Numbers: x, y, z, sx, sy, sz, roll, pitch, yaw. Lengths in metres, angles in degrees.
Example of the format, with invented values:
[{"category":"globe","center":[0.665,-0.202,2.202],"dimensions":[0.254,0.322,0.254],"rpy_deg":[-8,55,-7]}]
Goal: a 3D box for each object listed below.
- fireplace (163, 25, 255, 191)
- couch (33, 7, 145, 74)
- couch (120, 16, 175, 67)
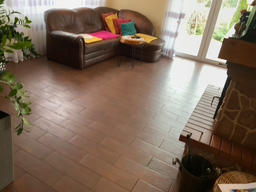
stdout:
[{"category":"fireplace","center":[0.960,0.090,1.860],"dimensions":[0.730,1.160,1.180],"rpy_deg":[20,28,21]},{"category":"couch","center":[-0.640,-1.330,4.530],"dimensions":[1.020,0.870,2.400],"rpy_deg":[20,29,21]},{"category":"couch","center":[0.450,-1.270,4.770],"dimensions":[0.750,0.840,1.040],"rpy_deg":[20,29,21]}]
